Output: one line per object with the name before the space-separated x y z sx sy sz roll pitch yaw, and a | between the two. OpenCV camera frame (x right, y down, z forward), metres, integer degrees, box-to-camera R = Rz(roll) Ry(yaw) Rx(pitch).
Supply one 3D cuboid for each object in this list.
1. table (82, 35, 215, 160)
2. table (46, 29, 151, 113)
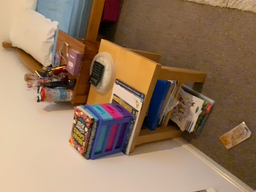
table | 0.100 -0.020 1.370 0.530 0.490 0.540 35 116 43
table | -0.240 -0.190 1.680 0.440 0.600 0.460 35 116 43
